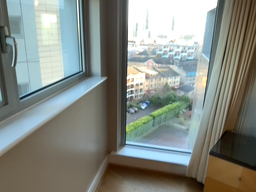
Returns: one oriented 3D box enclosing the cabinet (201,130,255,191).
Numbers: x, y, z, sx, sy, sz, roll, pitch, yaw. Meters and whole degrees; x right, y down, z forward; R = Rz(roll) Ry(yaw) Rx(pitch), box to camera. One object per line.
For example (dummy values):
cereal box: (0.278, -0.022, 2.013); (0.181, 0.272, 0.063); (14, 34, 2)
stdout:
cabinet: (1.020, 0.740, 1.820); (0.560, 0.600, 0.530); (17, 23, 38)
